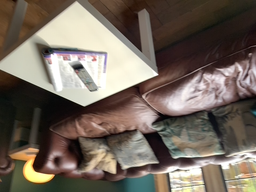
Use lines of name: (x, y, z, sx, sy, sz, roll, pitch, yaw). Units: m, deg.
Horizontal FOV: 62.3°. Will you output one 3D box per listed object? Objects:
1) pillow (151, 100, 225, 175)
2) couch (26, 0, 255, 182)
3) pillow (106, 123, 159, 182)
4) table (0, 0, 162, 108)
pillow: (0.480, 0.320, 1.720, 0.160, 0.400, 0.440, 34, 82, -49)
couch: (0.310, 0.140, 1.730, 0.950, 2.250, 0.740, 31, 47, -46)
pillow: (0.040, 0.510, 1.960, 0.120, 0.370, 0.420, 33, 73, -48)
table: (-0.240, -0.310, 1.140, 0.590, 0.580, 0.440, 31, 46, -46)
